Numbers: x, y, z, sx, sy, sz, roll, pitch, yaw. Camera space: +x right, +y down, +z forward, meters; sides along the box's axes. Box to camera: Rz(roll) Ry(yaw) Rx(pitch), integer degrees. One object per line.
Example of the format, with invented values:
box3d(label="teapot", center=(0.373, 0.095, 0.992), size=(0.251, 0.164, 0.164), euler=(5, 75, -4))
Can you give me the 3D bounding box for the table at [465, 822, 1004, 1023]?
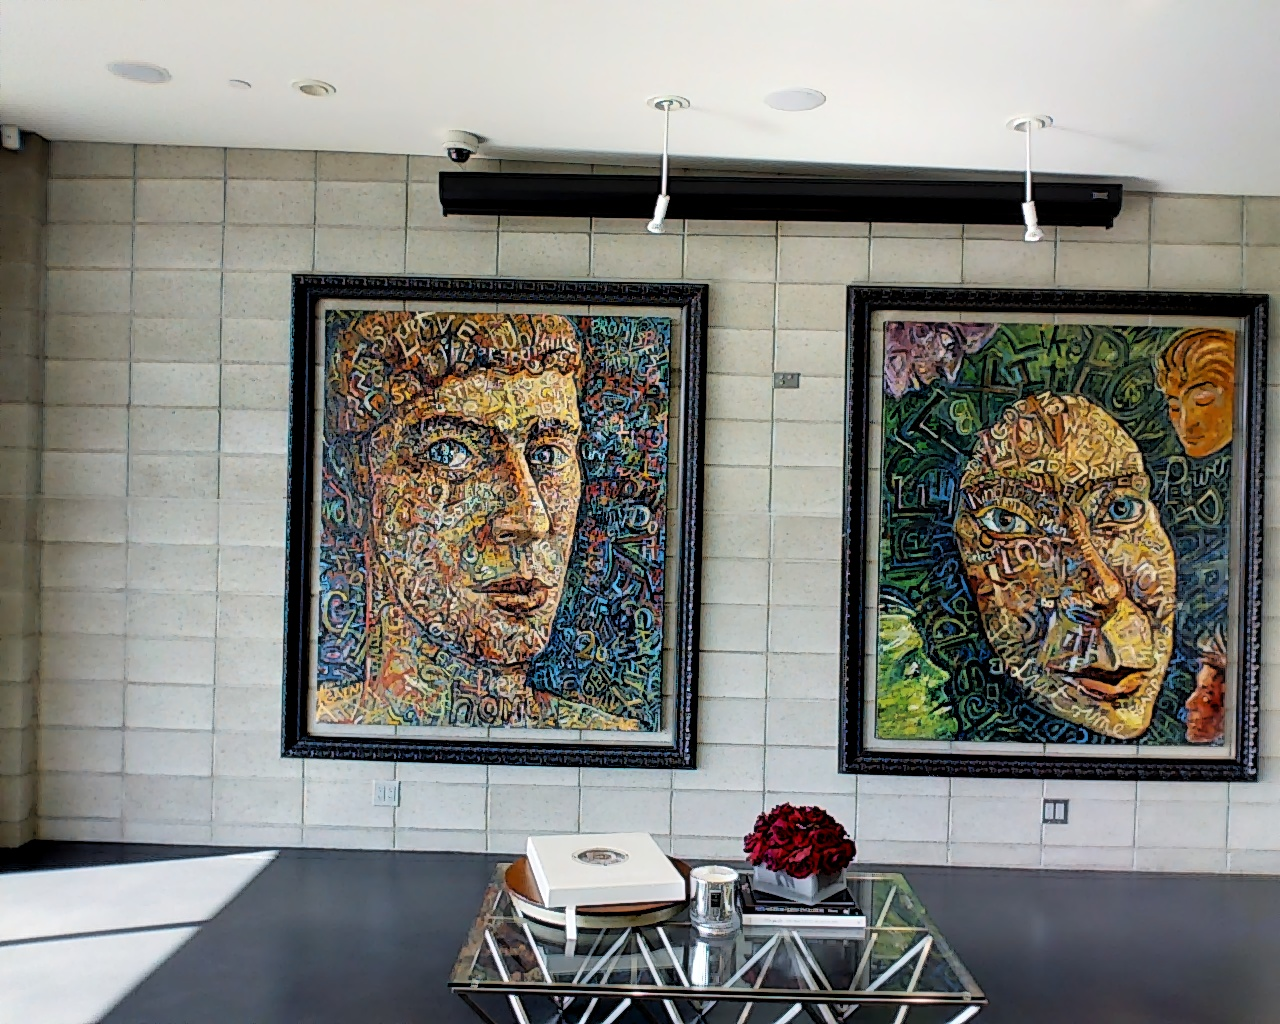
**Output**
box3d(label="table", center=(0.220, 1.300, 3.150), size=(1.330, 0.470, 0.980), euler=(2, 0, -2))
